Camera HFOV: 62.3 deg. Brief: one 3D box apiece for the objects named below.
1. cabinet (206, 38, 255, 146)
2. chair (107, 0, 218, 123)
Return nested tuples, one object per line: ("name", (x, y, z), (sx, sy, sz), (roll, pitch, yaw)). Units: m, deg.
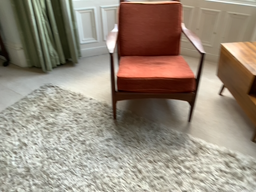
("cabinet", (0.950, -0.080, 1.640), (0.360, 0.440, 0.820), (0, 37, 0))
("chair", (0.200, -0.310, 1.730), (0.630, 0.710, 0.780), (0, 37, 1))
